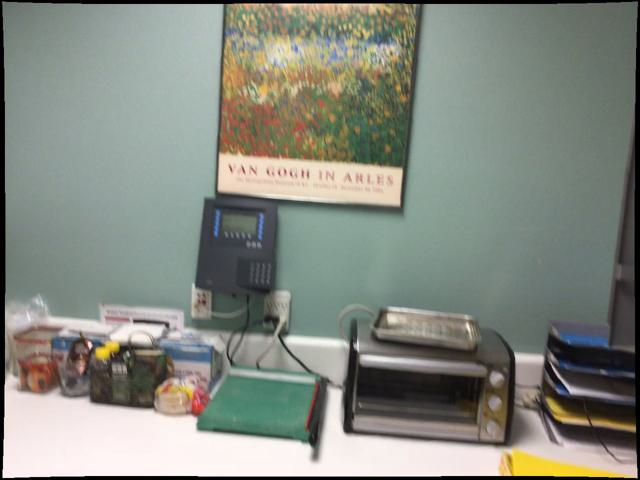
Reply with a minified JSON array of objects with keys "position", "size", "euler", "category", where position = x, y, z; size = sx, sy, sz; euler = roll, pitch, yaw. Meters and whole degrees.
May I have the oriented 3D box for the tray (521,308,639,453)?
[{"position":[0.869,0.400,1.700],"size":[0.420,0.290,0.360],"euler":[4,8,4],"category":"tray"}]
